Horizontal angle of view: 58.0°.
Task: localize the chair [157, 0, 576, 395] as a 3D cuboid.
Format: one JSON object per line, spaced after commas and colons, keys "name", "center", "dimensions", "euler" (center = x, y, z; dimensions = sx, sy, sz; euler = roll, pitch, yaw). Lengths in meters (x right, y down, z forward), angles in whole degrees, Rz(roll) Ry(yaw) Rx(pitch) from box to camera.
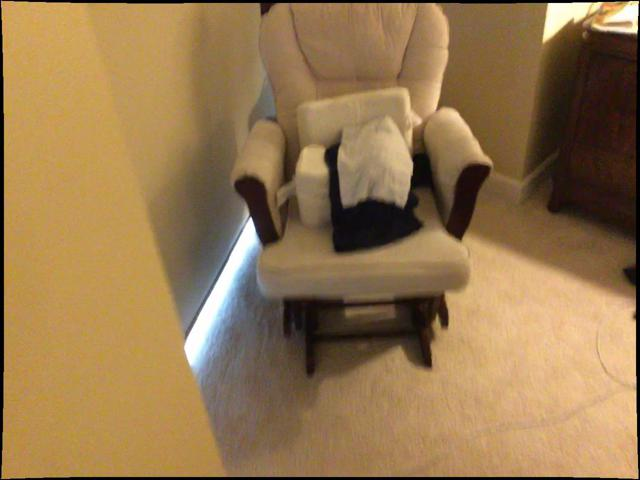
{"name": "chair", "center": [0.100, -0.221, 1.780], "dimensions": [0.808, 0.961, 0.941], "euler": [-2, 38, 1]}
